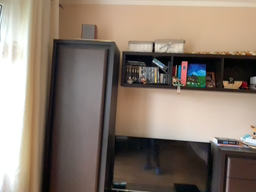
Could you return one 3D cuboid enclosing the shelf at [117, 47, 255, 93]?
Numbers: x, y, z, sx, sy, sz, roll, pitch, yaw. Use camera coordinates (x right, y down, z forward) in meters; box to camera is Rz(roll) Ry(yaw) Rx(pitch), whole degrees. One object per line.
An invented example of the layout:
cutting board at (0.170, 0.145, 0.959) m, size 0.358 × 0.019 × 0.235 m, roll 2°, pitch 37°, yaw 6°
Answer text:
shelf at (0.670, -0.260, 2.190) m, size 1.530 × 0.380 × 0.240 m, roll 3°, pitch 0°, yaw 5°
